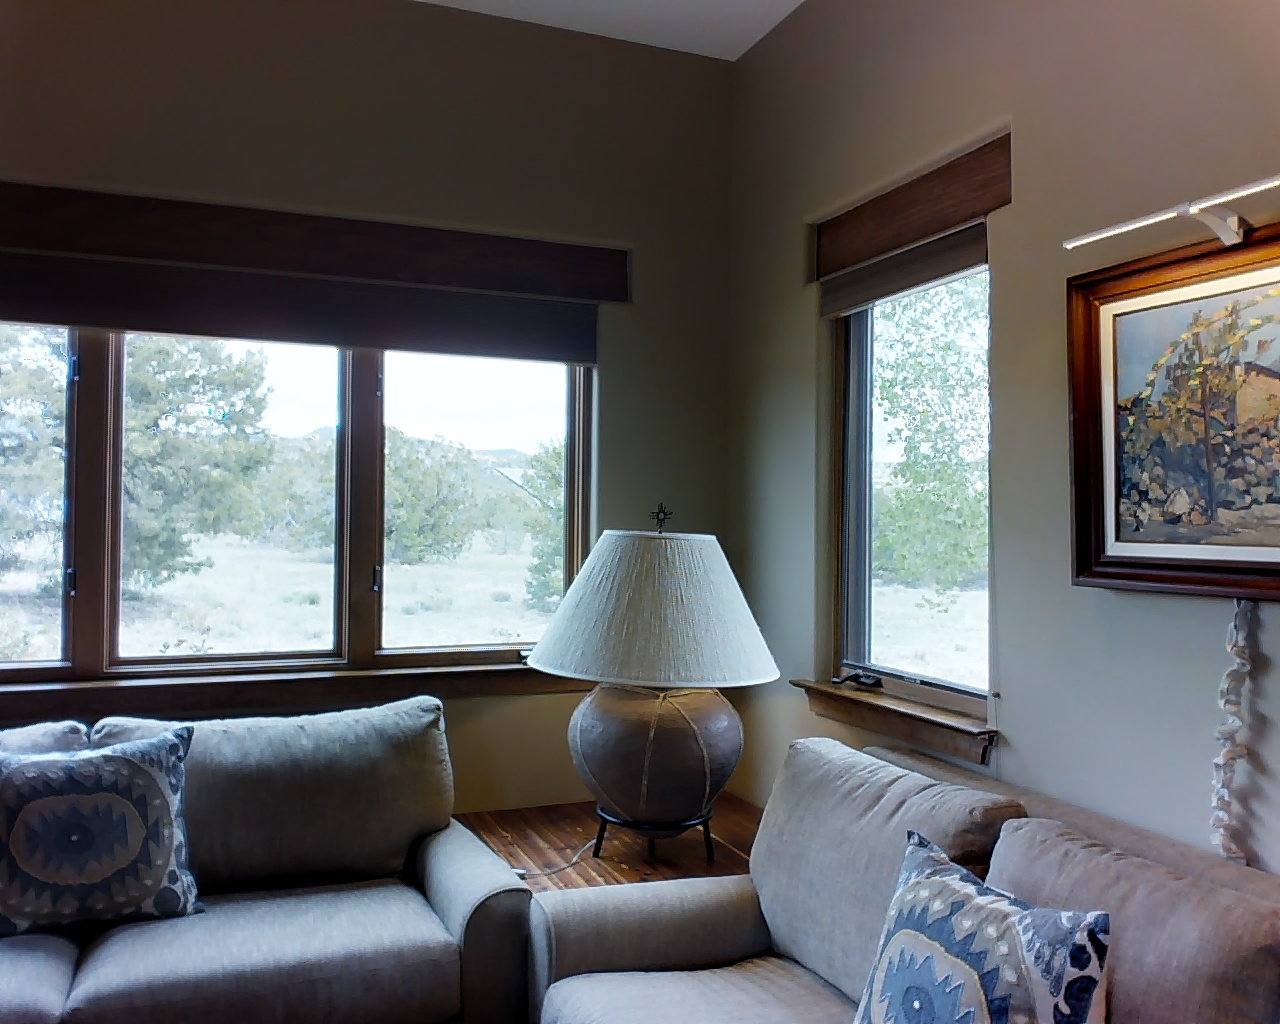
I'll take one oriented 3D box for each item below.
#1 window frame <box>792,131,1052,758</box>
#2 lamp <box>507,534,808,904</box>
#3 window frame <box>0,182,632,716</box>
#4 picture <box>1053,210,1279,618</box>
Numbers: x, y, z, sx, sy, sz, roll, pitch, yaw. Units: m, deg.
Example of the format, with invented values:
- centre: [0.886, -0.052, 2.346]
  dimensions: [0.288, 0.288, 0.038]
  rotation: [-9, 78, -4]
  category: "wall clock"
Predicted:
- centre: [0.710, -0.150, 2.870]
  dimensions: [0.170, 1.420, 0.890]
  rotation: [1, -1, -22]
  category: "window frame"
- centre: [0.030, 0.510, 2.990]
  dimensions: [0.650, 0.890, 0.590]
  rotation: [1, -1, -22]
  category: "lamp"
- centre: [-1.220, -0.160, 3.170]
  dimensions: [2.469, 1.430, 0.200]
  rotation: [1, -1, -21]
  category: "window frame"
- centre: [1.040, -0.160, 1.840]
  dimensions: [0.050, 0.670, 0.840]
  rotation: [1, -1, -22]
  category: "picture"
